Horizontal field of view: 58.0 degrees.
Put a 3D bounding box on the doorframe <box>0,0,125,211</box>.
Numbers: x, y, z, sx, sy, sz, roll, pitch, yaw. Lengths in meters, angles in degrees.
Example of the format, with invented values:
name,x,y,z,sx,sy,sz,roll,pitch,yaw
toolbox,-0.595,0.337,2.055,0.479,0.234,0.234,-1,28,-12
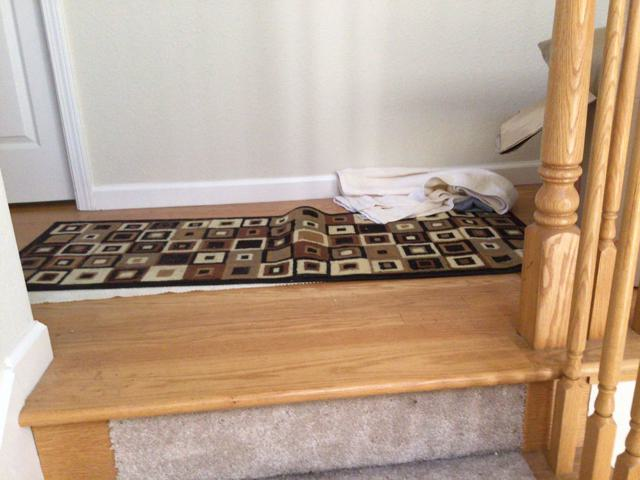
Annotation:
name,x,y,z,sx,sy,sz,roll,pitch,yaw
doorframe,-0.970,-1.090,1.740,0.340,2.070,0.170,-2,24,2
